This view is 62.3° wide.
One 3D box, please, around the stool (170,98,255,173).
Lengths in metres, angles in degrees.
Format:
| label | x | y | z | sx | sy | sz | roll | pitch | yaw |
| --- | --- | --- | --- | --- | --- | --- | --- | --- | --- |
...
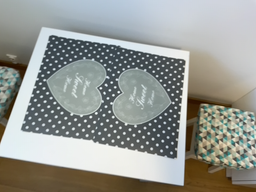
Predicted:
| label | x | y | z | sx | sy | sz | roll | pitch | yaw |
| --- | --- | --- | --- | --- | --- | --- | --- | --- | --- |
| stool | 0.530 | 0.290 | 1.380 | 0.340 | 0.510 | 0.330 | 12 | 68 | -1 |
